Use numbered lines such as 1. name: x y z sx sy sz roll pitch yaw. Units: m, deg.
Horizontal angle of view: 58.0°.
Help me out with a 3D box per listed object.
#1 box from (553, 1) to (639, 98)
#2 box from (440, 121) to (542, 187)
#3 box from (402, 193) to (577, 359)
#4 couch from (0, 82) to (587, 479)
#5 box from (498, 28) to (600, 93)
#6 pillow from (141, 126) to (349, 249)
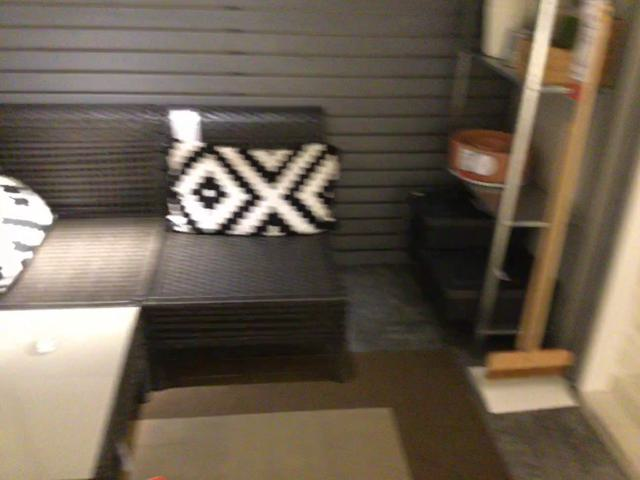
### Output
1. box: 0.780 -0.520 1.560 0.170 0.220 0.230 -2 25 -3
2. box: 0.610 -0.320 2.110 0.260 0.150 0.300 -2 25 -3
3. box: 0.620 0.110 2.300 0.440 0.360 0.670 -2 25 -3
4. couch: -0.530 0.420 1.090 1.470 0.860 2.910 -2 25 -3
5. box: 0.650 -0.530 1.680 0.120 0.130 0.370 -2 25 -3
6. pillow: -0.260 -0.210 2.180 0.700 0.340 0.340 -2 25 -3
